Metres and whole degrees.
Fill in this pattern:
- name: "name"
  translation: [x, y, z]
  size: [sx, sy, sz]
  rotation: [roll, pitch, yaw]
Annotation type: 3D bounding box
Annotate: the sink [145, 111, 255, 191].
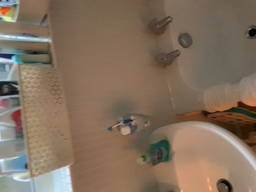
- name: "sink"
  translation: [0.340, 0.370, 0.800]
  size: [0.440, 0.210, 0.560]
  rotation: [-20, 78, 50]
